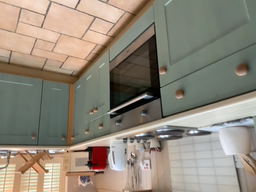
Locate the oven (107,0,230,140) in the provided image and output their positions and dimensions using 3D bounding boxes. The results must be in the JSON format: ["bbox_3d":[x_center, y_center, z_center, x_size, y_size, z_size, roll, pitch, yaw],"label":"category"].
[{"bbox_3d":[0.240,-0.160,1.600,0.580,0.890,0.610,9,160,-31],"label":"oven"}]
